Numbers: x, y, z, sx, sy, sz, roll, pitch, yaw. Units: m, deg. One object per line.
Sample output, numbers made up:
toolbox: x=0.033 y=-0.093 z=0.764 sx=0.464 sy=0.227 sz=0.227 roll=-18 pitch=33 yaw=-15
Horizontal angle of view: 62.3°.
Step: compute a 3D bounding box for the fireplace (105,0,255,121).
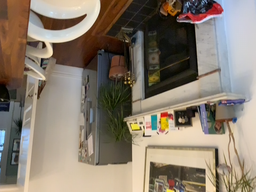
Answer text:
fireplace: x=0.300 y=-0.430 z=2.230 sx=0.520 sy=1.220 sz=1.680 roll=5 pitch=167 yaw=-26
